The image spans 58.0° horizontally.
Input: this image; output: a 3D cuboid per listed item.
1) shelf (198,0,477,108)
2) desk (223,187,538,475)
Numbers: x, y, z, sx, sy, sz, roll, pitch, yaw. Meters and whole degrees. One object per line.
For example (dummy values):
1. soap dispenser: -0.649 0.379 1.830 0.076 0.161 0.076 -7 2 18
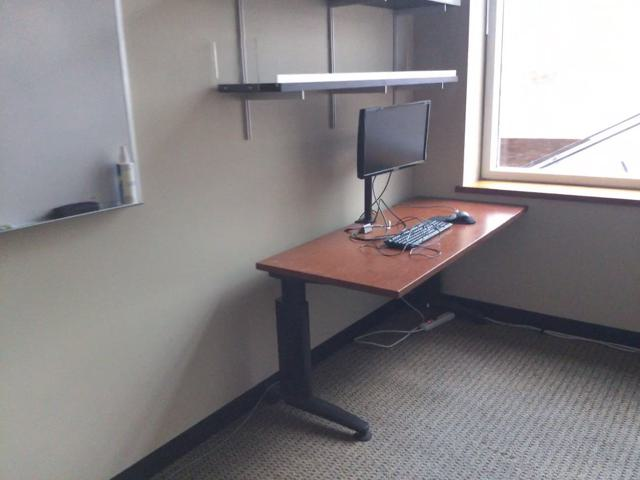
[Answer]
1. shelf: 0.180 -1.080 2.520 0.440 0.920 1.530 2 11 36
2. desk: 0.410 0.260 2.810 0.840 0.870 1.510 2 11 36
